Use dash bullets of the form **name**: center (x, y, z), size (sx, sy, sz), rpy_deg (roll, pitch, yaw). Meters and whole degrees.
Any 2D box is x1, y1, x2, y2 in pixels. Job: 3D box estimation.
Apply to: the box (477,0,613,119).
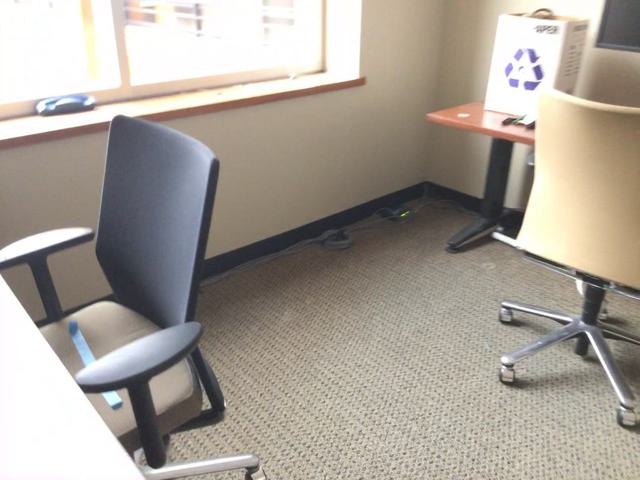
- **box**: center (0.960, -0.800, 2.490), size (0.440, 0.430, 0.330), rpy_deg (-22, 31, -36)
